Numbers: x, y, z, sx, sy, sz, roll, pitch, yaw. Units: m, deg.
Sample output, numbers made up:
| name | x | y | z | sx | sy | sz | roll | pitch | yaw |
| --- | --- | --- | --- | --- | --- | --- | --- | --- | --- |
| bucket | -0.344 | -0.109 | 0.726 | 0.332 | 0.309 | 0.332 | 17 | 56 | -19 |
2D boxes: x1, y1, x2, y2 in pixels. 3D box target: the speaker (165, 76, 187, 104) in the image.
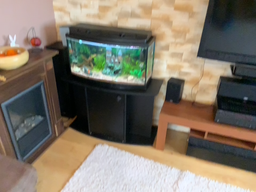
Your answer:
| name | x | y | z | sx | sy | sz | roll | pitch | yaw |
| --- | --- | --- | --- | --- | --- | --- | --- | --- | --- |
| speaker | 0.490 | -0.060 | 2.160 | 0.180 | 0.220 | 0.130 | 11 | 31 | 14 |
